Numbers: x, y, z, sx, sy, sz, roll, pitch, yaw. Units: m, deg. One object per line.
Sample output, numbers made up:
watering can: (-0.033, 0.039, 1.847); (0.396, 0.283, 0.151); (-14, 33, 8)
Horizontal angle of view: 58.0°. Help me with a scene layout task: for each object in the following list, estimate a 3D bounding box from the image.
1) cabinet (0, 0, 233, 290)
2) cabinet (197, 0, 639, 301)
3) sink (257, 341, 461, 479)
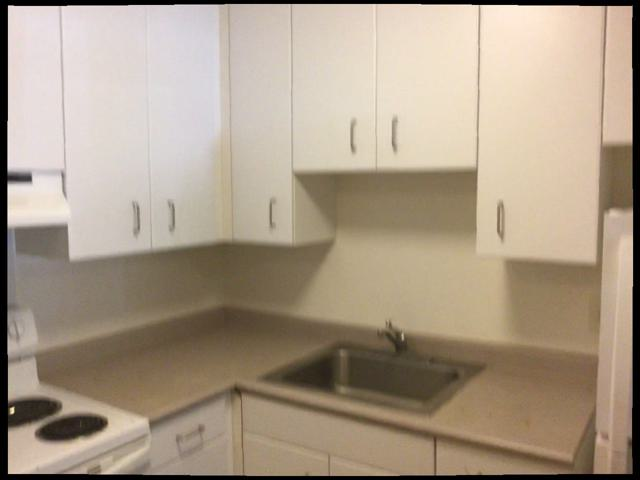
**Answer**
cabinet: (-1.018, -0.431, 1.690); (0.350, 1.112, 1.849); (6, 10, 33)
cabinet: (0.599, -0.461, 1.840); (2.317, 1.132, 0.400); (6, 10, 33)
sink: (0.140, 0.561, 2.020); (0.559, 0.200, 0.450); (6, 10, 33)
